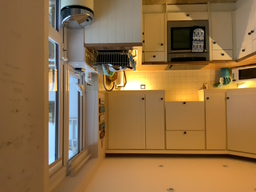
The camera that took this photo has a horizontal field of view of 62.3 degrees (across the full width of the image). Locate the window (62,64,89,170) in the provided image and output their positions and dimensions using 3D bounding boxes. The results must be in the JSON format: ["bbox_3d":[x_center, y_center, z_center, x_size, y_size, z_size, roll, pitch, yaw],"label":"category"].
[{"bbox_3d":[-0.630,0.240,2.600,0.150,1.160,0.540,-1,178,5],"label":"window"}]

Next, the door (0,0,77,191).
[{"bbox_3d":[-0.700,-0.320,1.760,0.240,2.170,0.910,-1,178,6],"label":"door"}]
